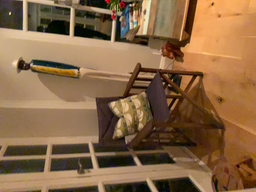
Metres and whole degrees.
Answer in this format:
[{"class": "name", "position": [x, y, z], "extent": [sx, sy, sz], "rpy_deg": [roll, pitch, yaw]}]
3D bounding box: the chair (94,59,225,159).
[{"class": "chair", "position": [0.190, 0.140, 1.830], "extent": [0.620, 0.840, 0.570], "rpy_deg": [117, 149, -53]}]

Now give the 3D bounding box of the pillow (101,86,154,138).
[{"class": "pillow", "position": [0.010, 0.130, 1.810], "extent": [0.170, 0.350, 0.350], "rpy_deg": [80, -155, -52]}]

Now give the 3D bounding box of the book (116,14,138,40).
[{"class": "book", "position": [-0.020, -0.730, 2.240], "extent": [0.340, 0.110, 0.240], "rpy_deg": [-132, 47, -65]}]
